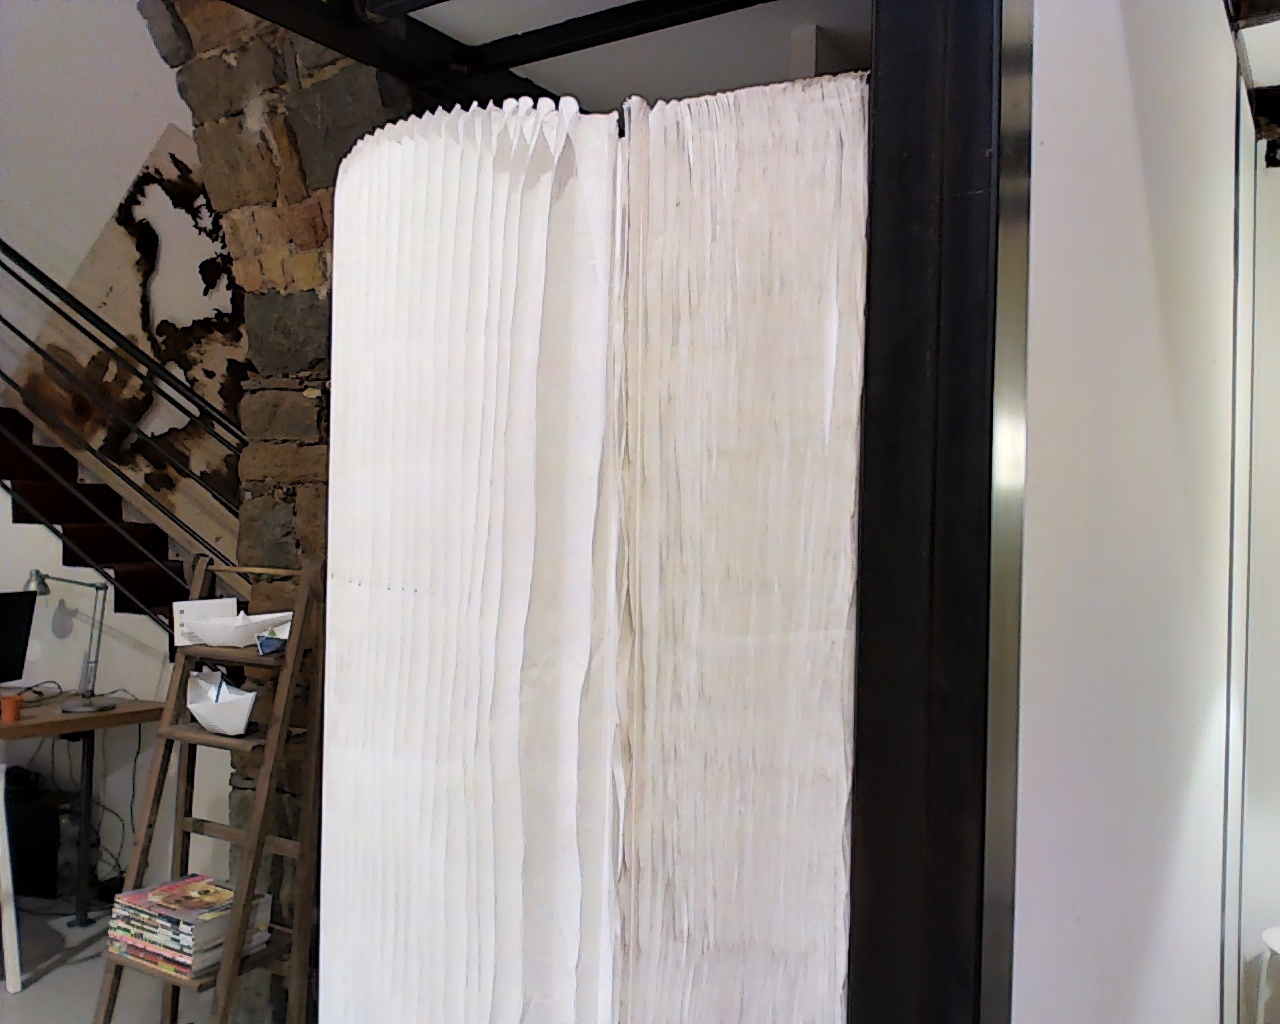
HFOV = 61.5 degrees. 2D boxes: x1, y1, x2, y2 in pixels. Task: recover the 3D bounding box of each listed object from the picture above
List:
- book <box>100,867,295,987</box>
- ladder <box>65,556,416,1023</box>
[{"bbox_3d":[-1.000,0.930,2.440,0.310,0.120,0.270,2,0,28],"label":"book"},{"bbox_3d":[-0.930,0.790,2.540,0.480,1.310,0.480,-12,-8,28],"label":"ladder"}]
